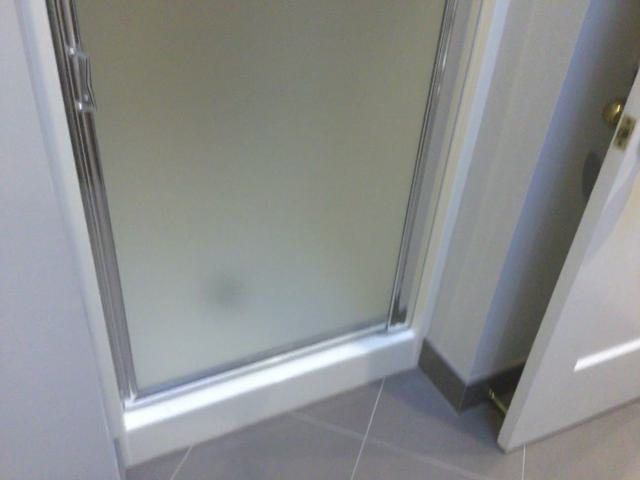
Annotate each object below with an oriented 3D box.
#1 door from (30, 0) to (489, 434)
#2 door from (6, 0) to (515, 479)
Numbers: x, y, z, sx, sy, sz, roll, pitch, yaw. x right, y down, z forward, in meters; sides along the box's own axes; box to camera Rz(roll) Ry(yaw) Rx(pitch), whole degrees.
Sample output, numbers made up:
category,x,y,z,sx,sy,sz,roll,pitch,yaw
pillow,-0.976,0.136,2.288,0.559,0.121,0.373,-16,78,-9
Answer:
category,x,y,z,sx,sy,sz,roll,pitch,yaw
door,-0.060,-0.340,1.050,0.810,1.570,0.110,-13,37,-25
door,-0.090,-0.380,1.110,0.880,1.810,0.320,-13,37,-25
